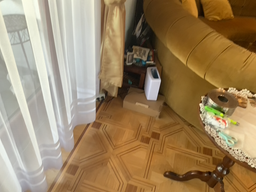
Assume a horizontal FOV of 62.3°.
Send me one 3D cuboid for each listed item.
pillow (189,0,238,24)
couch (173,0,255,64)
[{"bbox_3d":[1.080,-1.130,2.670,0.480,0.260,0.300,-24,51,-31],"label":"pillow"},{"bbox_3d":[1.220,-1.070,2.870,0.890,0.770,0.770,20,43,12],"label":"couch"}]
